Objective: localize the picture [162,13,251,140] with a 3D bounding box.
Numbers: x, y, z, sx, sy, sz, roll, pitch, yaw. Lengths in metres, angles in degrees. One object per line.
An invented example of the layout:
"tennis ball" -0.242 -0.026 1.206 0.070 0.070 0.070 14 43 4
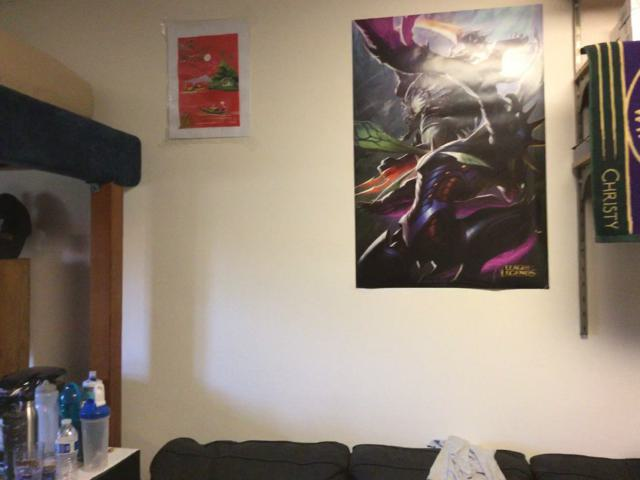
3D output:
"picture" -0.440 -0.630 2.250 0.330 0.460 0.070 0 -2 10

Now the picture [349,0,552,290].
"picture" 0.450 -0.330 2.050 0.680 1.000 0.100 0 -2 10
